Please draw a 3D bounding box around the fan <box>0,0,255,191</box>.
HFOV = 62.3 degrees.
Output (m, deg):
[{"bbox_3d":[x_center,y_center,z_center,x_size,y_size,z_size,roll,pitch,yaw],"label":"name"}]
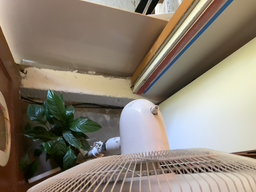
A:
[{"bbox_3d":[-0.050,0.250,0.840,0.530,1.240,0.350,-1,71,-17],"label":"fan"}]
